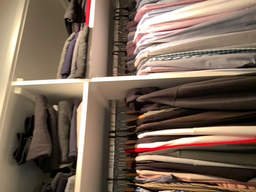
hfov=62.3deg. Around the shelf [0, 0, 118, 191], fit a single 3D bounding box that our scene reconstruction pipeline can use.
[{"bbox_3d":[-0.310,-0.330,1.280,0.590,0.360,2.240,69,-159,-69],"label":"shelf"}]
